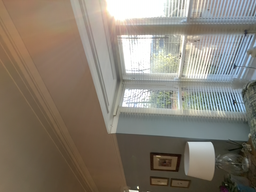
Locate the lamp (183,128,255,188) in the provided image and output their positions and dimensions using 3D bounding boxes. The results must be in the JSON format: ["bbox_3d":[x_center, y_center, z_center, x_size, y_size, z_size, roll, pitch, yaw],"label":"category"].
[{"bbox_3d":[0.880,0.620,2.120,0.420,0.570,0.390,83,-168,-48],"label":"lamp"}]

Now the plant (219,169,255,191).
[{"bbox_3d":[1.010,0.840,1.970,0.250,0.230,0.210,82,-168,-49],"label":"plant"}]
